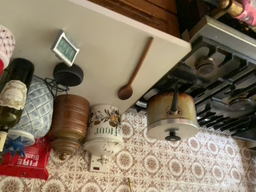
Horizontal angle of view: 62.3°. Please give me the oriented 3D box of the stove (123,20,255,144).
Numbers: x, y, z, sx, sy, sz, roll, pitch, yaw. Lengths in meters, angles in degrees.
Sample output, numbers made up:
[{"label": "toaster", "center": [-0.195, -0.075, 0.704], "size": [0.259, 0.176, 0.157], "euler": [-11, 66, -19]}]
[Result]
[{"label": "stove", "center": [0.580, 0.050, 1.140], "size": [1.030, 0.110, 0.660], "euler": [13, 147, -22]}]
